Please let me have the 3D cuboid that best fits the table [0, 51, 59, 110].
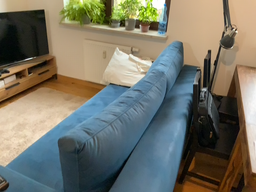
[{"bbox_3d":[-1.590,-0.160,2.710,0.380,0.390,1.620,14,30,18],"label":"table"}]
